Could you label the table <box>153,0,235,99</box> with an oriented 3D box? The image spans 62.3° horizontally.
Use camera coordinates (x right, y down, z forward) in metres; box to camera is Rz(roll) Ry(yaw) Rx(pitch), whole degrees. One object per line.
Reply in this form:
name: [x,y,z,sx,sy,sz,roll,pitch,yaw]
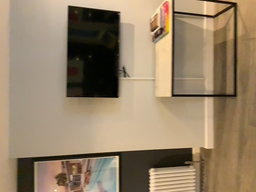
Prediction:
table: [0.720,-0.500,2.370,0.410,0.770,1.050,180,90,-76]
